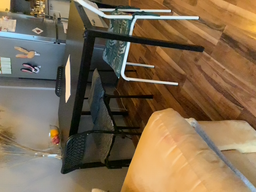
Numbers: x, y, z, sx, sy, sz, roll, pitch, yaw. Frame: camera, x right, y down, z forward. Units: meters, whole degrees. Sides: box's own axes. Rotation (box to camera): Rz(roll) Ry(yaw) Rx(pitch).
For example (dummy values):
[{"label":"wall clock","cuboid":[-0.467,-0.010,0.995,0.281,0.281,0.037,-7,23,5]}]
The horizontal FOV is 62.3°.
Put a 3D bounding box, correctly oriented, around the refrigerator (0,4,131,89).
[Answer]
[{"label":"refrigerator","cuboid":[-0.950,-0.540,2.390,0.570,1.770,0.630,-116,36,-46]}]
